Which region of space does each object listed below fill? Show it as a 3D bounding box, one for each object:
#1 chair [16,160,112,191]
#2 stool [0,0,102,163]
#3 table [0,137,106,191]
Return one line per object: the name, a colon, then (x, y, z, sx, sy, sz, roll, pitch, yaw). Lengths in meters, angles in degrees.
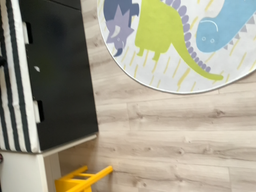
chair: (-0.420, 0.730, 1.490, 0.420, 0.460, 0.380, -6, 92, 33)
stool: (-0.620, -0.100, 1.490, 0.540, 0.510, 0.940, -7, 92, 33)
table: (-0.510, 0.790, 1.530, 0.500, 0.500, 0.860, -7, 92, 33)
